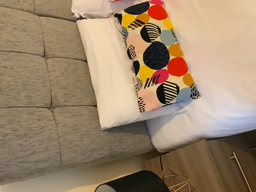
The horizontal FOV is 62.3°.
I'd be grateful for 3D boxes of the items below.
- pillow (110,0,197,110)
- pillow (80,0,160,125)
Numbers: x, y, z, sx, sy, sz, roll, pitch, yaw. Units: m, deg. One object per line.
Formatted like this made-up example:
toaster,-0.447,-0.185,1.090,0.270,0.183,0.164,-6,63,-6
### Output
pillow,0.110,-0.240,1.010,0.140,0.220,0.590,-29,66,23
pillow,-0.040,-0.180,1.070,0.080,0.320,0.640,-26,67,25
